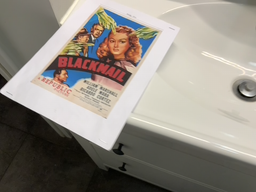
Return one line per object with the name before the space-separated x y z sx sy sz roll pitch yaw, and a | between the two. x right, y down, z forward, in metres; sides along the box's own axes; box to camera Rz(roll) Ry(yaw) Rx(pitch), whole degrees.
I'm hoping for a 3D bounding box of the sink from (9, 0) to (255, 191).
sink | 0.260 -0.060 0.460 0.810 0.150 0.470 17 64 9
